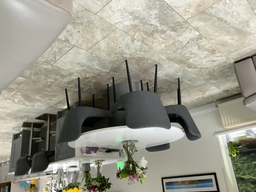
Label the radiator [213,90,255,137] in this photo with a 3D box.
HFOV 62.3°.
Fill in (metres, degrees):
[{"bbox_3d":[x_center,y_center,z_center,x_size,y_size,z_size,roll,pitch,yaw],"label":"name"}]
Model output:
[{"bbox_3d":[2.310,0.110,3.130,1.970,0.600,0.140,-23,152,39],"label":"radiator"}]
